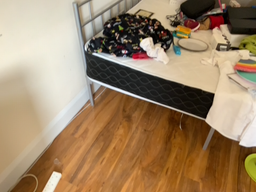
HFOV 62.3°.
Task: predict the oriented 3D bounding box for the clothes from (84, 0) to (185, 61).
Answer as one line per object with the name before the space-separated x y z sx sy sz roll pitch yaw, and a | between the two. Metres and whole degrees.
clothes | 0.070 -0.510 1.520 0.550 0.130 0.540 17 45 15
